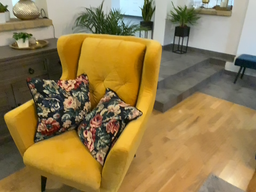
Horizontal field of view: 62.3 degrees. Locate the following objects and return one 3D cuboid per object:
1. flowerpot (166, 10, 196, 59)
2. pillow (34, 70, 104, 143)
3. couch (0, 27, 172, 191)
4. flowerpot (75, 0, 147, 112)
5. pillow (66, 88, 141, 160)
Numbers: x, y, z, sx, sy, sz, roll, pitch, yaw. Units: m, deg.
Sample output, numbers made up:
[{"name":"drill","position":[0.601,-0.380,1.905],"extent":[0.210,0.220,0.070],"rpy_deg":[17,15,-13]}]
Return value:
[{"name":"flowerpot","position":[1.050,-1.240,4.270],"extent":[0.390,0.890,0.280],"rpy_deg":[25,35,38]},{"name":"pillow","position":[-0.410,0.060,1.580],"extent":[0.420,0.390,0.340],"rpy_deg":[-4,27,-11]},{"name":"couch","position":[-0.250,0.140,1.600],"extent":[0.860,1.070,0.970],"rpy_deg":[11,28,18]},{"name":"flowerpot","position":[-0.200,-0.540,2.680],"extent":[0.610,1.240,0.540],"rpy_deg":[-23,35,-39]},{"name":"pillow","position":[-0.180,0.160,1.460],"extent":[0.300,0.220,0.460],"rpy_deg":[-18,33,-34]}]
